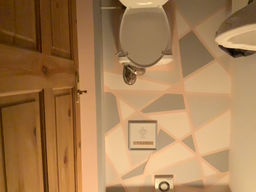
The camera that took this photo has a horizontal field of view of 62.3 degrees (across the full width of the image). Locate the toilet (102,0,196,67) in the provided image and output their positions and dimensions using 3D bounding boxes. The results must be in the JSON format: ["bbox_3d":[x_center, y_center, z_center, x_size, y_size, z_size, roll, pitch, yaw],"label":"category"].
[{"bbox_3d":[0.110,-0.620,1.400,0.470,0.810,0.700,0,-175,1],"label":"toilet"}]
